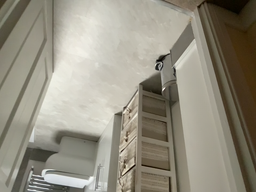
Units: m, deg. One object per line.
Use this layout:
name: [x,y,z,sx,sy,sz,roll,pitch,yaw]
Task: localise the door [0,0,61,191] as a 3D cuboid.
door: [-0.520,0.430,0.750,0.090,2.060,0.710,11,143,-11]
